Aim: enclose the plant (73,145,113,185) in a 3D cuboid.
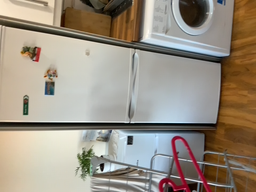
[{"bbox_3d":[-0.310,0.590,1.860,0.210,0.270,0.260,8,94,63],"label":"plant"}]
